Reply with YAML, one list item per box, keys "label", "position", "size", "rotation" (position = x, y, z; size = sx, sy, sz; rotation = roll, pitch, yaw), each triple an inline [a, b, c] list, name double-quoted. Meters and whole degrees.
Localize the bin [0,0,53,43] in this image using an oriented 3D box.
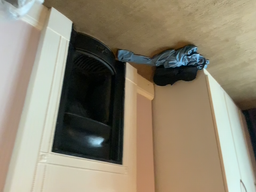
- label: "bin"
  position: [-0.480, -0.440, 0.920]
  size: [0.230, 0.270, 0.220]
  rotation: [-20, 148, 38]
